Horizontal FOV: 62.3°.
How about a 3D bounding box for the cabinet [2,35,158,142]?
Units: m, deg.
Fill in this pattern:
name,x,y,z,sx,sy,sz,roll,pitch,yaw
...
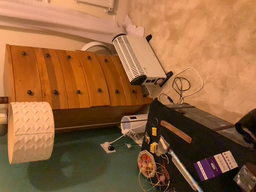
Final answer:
name,x,y,z,sx,sy,sz,roll,pitch,yaw
cabinet,-0.450,-0.060,2.000,0.570,1.220,0.630,-50,53,45
